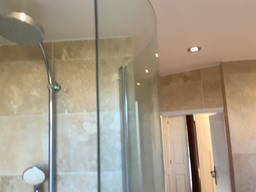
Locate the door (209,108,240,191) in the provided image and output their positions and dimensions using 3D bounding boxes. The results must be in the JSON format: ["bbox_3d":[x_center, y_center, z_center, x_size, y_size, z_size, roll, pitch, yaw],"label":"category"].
[{"bbox_3d":[0.930,1.080,1.970,0.040,1.880,0.700,-4,-8,10],"label":"door"}]
